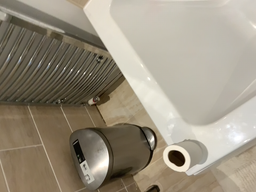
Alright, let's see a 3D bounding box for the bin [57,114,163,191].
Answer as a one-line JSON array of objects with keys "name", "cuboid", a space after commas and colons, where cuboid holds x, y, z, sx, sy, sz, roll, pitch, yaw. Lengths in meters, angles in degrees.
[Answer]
[{"name": "bin", "cuboid": [-0.070, 0.270, 1.110, 0.230, 0.470, 0.270, -39, 67, 24]}]
